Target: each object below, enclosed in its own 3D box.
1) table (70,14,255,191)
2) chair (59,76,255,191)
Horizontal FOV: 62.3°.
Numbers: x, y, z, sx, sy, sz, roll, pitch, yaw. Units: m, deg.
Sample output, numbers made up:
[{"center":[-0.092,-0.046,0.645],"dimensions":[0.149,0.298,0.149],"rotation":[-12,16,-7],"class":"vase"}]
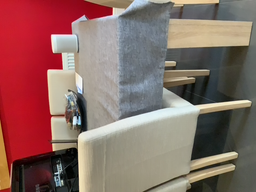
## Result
[{"center":[0.090,0.310,1.560],"dimensions":[0.920,0.760,1.630],"rotation":[-146,54,-58],"class":"table"},{"center":[0.160,0.190,1.160],"dimensions":[0.500,0.940,0.420],"rotation":[-140,49,-56],"class":"chair"}]
